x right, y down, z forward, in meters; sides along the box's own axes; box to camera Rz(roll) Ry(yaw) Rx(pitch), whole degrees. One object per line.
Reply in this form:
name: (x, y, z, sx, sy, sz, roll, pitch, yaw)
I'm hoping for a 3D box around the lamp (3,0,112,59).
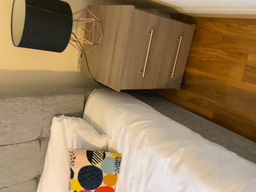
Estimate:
lamp: (-0.340, -0.340, 1.030, 0.270, 0.420, 0.250, 23, 109, 48)
